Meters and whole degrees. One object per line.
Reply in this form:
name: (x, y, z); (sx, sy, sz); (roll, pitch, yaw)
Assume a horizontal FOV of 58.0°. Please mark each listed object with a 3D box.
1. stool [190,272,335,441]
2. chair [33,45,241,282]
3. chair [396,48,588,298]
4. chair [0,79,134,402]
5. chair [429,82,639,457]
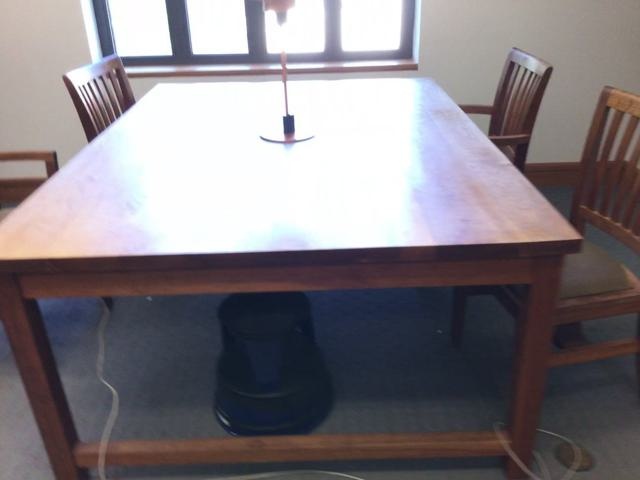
stool: (-0.160, 0.360, 1.860); (0.410, 0.420, 0.340); (0, 18, 0)
chair: (-0.750, -0.360, 2.620); (0.620, 0.920, 0.560); (2, 27, 4)
chair: (0.660, -0.310, 2.450); (0.570, 0.950, 0.580); (0, 18, 0)
chair: (-1.170, -0.060, 2.110); (0.600, 0.990, 0.710); (2, 18, 7)
chair: (0.740, 0.040, 1.790); (0.590, 0.990, 0.570); (-3, 18, -9)
